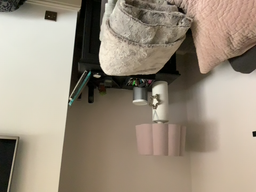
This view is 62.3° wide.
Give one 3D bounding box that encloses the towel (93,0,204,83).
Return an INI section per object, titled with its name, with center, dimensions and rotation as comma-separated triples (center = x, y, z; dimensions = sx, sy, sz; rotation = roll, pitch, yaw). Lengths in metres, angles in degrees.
[towel]
center = 0.070, -0.290, 1.230
dimensions = 0.490, 0.230, 0.500
rotation = 4, 164, -12

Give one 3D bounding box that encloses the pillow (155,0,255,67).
[pillow]
center = 0.450, -0.430, 1.010
dimensions = 0.140, 0.520, 0.530
rotation = 39, 160, -20

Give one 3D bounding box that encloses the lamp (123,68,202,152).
[lamp]
center = 0.250, 0.160, 1.810
dimensions = 0.480, 0.600, 0.510
rotation = 5, 164, -12
